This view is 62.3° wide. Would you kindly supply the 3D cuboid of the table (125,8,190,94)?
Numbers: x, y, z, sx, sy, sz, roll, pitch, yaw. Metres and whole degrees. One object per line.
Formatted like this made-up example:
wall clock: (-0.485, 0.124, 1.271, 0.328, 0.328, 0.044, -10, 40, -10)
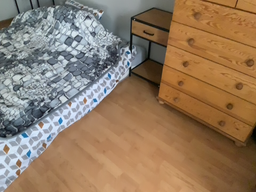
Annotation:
table: (0.260, -0.440, 2.080, 0.420, 0.630, 0.370, 30, 48, 28)
